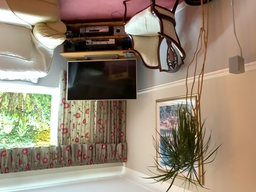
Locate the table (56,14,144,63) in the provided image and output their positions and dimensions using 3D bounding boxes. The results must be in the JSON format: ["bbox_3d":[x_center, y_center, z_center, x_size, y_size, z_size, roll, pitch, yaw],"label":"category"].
[{"bbox_3d":[-0.400,-0.880,3.370,1.270,0.510,0.610,-1,174,5],"label":"table"}]

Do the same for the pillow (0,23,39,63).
[{"bbox_3d":[-1.350,-0.600,2.420,0.510,0.350,0.130,-22,-175,-31],"label":"pillow"}]

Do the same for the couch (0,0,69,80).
[{"bbox_3d":[-1.590,-0.780,2.290,1.660,0.930,0.990,3,173,-27],"label":"couch"}]
